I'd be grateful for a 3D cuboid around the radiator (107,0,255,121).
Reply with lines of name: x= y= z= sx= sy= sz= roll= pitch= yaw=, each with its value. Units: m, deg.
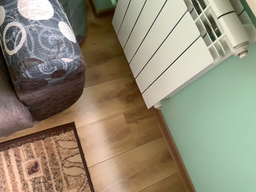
radiator: x=0.120 y=-0.220 z=0.920 sx=0.150 sy=0.640 sz=0.520 roll=-17 pitch=78 yaw=-20
